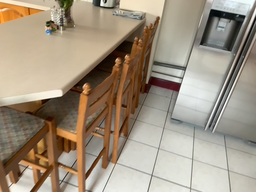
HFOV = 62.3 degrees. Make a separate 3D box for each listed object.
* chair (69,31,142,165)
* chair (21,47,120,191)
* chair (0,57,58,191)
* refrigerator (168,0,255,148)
[{"bbox_3d":[-0.190,0.030,1.710,0.380,0.930,0.420,15,33,9],"label":"chair"},{"bbox_3d":[-0.330,0.230,1.370,0.350,0.930,0.410,15,33,9],"label":"chair"},{"bbox_3d":[-0.650,0.340,1.070,0.380,0.990,0.370,15,33,10],"label":"chair"},{"bbox_3d":[1.060,-0.490,2.020,0.900,1.730,0.730,15,33,10],"label":"refrigerator"}]
